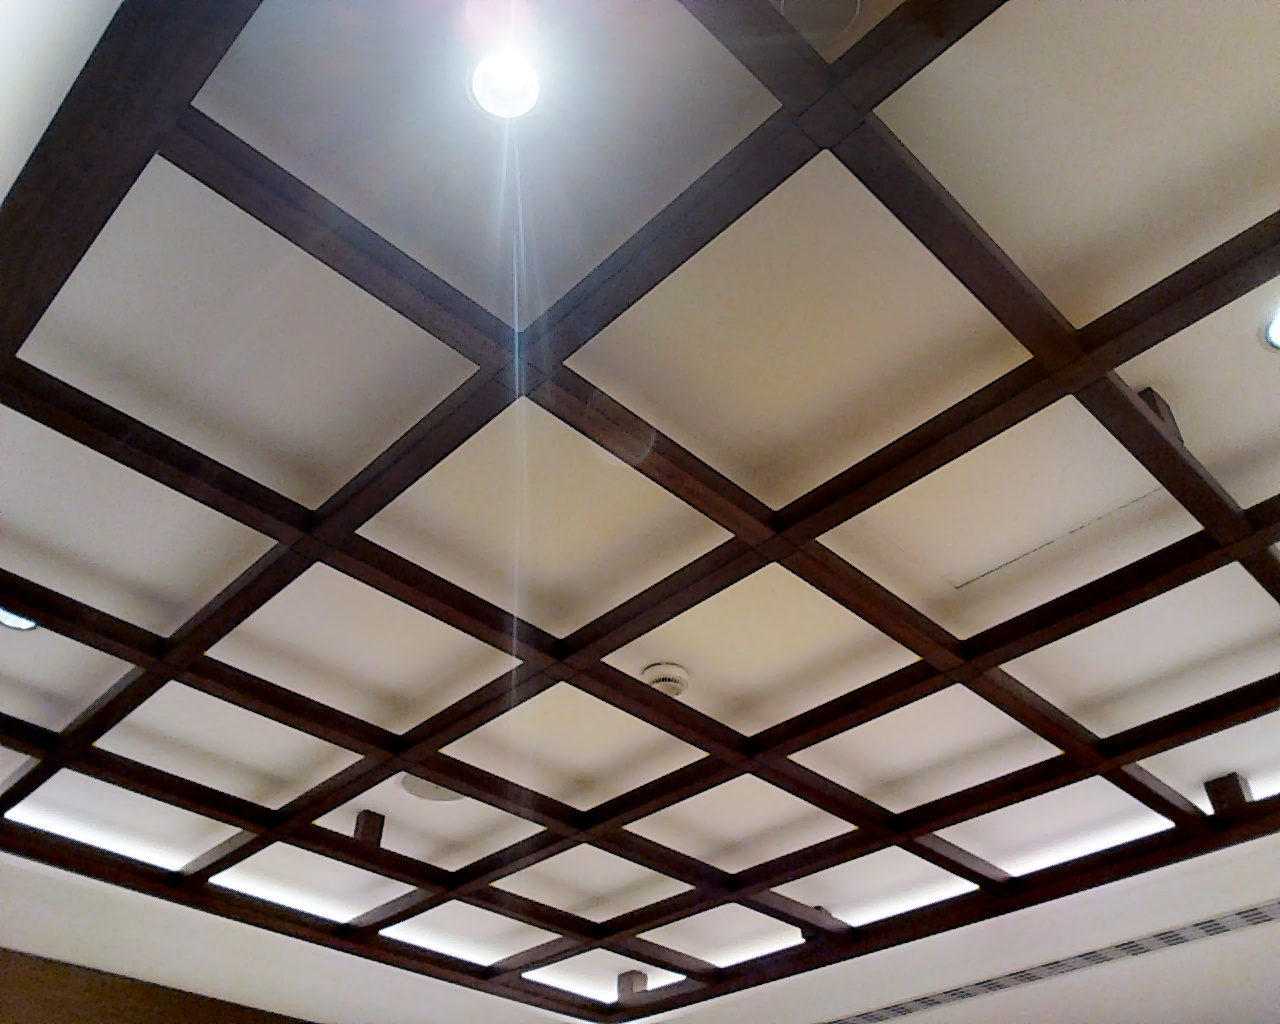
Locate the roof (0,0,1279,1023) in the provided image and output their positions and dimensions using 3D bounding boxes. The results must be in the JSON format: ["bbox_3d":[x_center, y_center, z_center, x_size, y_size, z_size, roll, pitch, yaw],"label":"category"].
[{"bbox_3d":[1.889,-0.500,1.030,5.459,0.190,9.269,32,-50,-31],"label":"roof"}]
